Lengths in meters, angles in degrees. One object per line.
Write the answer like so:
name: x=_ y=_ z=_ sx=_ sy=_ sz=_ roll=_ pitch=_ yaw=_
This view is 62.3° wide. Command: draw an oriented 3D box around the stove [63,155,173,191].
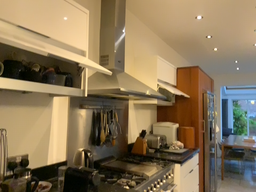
stove: x=-0.020 y=0.760 z=1.970 sx=0.580 sy=0.170 sz=0.990 roll=0 pitch=-4 yaw=30
